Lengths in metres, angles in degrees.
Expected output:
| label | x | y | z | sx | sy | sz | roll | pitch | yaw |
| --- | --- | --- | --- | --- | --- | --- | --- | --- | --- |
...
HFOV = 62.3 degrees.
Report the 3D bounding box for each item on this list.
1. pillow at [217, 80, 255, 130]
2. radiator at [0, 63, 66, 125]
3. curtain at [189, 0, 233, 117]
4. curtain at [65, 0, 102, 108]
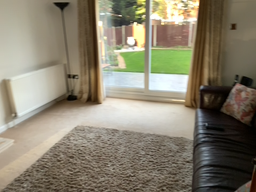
| label | x | y | z | sx | sy | sz | roll | pitch | yaw |
| --- | --- | --- | --- | --- | --- | --- | --- | --- | --- |
| pillow | 1.230 | 0.090 | 2.280 | 0.150 | 0.380 | 0.370 | 9 | 28 | -26 |
| radiator | -1.500 | -0.110 | 3.550 | 0.130 | 0.670 | 1.320 | 4 | 19 | 16 |
| curtain | 1.250 | -0.760 | 3.230 | 0.460 | 2.210 | 0.220 | 5 | 19 | 17 |
| curtain | -0.780 | -0.930 | 3.750 | 0.460 | 2.320 | 0.190 | 5 | 19 | 17 |
